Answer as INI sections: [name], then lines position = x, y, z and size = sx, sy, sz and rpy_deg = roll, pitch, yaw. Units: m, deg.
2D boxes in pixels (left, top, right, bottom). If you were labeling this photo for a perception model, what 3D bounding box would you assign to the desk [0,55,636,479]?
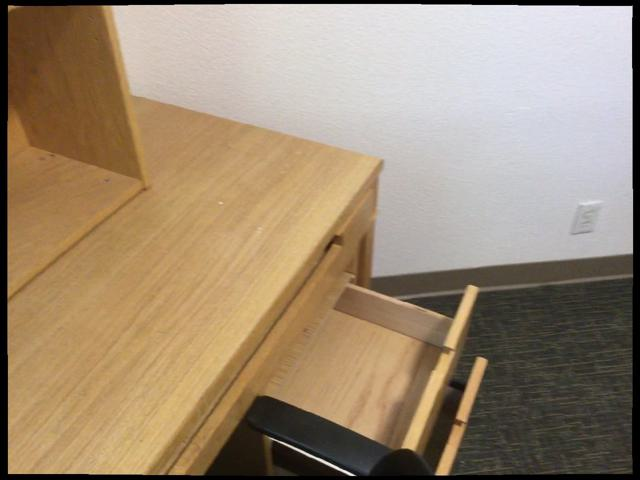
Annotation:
[desk]
position = -0.329, 0.381, 1.110
size = 1.378, 0.771, 1.350
rpy_deg = 18, 44, 21
